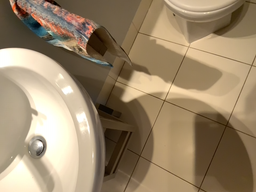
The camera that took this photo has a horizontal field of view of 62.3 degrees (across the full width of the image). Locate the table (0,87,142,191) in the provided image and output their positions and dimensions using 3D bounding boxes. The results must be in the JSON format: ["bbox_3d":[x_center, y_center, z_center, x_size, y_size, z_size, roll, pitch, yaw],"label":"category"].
[{"bbox_3d":[-0.200,0.230,0.920,0.270,0.610,0.330,22,86,22],"label":"table"}]
